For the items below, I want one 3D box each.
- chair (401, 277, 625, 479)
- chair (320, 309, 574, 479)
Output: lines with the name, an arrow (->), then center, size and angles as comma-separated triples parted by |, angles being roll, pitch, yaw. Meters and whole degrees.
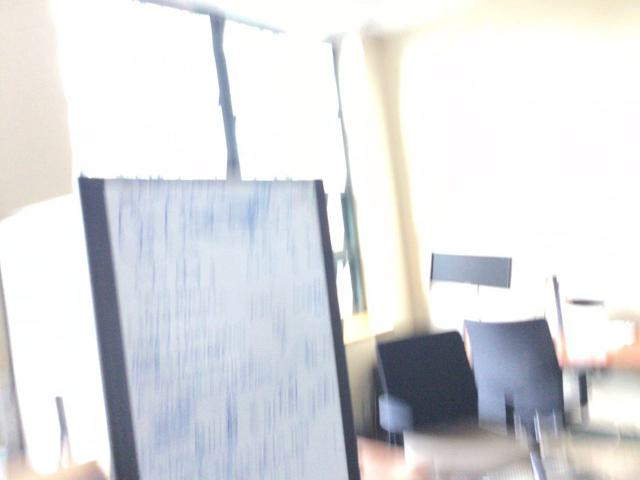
chair -> 0.950, 0.760, 2.850 | 0.700, 1.020, 0.630 | -10, -1, 44
chair -> 0.530, 0.860, 2.430 | 0.640, 1.020, 0.700 | -9, -1, -30
